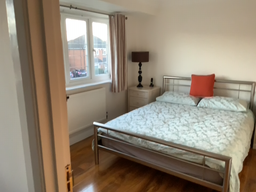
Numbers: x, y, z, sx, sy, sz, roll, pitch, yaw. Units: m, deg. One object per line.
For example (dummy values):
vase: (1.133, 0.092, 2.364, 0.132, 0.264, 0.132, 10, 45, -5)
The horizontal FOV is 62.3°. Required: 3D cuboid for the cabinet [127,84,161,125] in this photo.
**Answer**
cabinet: (0.320, 0.150, 4.370, 0.500, 0.690, 0.500, 9, 15, 36)
